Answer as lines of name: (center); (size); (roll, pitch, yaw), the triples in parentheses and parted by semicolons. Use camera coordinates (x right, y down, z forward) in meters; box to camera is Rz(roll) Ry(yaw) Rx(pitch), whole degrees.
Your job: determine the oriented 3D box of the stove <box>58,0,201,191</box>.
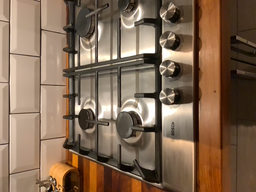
stove: (-0.060, -0.080, 0.590); (0.540, 0.040, 0.570); (-1, 89, 48)
